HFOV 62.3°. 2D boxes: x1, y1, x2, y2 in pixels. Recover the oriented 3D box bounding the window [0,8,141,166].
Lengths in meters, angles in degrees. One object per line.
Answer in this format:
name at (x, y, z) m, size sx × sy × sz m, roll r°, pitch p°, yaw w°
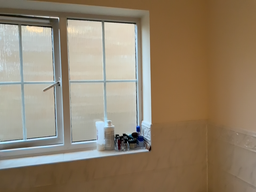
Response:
window at (-0.440, -0.070, 1.600) m, size 1.100 × 1.050 × 0.090 m, roll -2°, pitch 3°, yaw -18°
